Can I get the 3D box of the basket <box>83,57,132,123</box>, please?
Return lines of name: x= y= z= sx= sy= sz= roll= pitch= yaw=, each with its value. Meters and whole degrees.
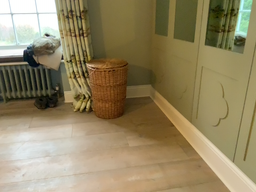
basket: x=-0.220 y=-0.080 z=2.190 sx=0.440 sy=0.550 sz=0.420 roll=-4 pitch=21 yaw=-10
